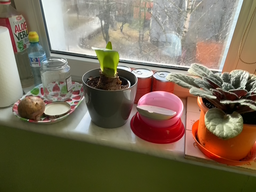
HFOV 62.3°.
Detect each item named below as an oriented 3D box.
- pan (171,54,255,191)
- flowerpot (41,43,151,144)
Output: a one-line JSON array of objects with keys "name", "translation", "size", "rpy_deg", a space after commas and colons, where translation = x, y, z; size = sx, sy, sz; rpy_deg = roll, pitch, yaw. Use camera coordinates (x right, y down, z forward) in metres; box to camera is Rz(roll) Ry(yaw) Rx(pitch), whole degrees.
[{"name": "pan", "translation": [0.260, 0.050, 0.580], "size": [0.230, 0.220, 0.280], "rpy_deg": [10, 31, 10]}, {"name": "flowerpot", "translation": [-0.080, -0.020, 0.640], "size": [0.250, 0.200, 0.190], "rpy_deg": [10, 31, 11]}]
